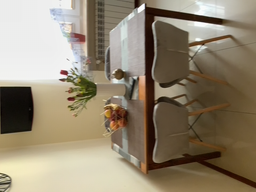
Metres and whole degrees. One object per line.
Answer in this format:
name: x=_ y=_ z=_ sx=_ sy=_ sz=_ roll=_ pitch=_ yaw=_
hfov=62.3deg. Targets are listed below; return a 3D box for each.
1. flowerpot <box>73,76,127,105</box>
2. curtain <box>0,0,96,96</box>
flowerpot: x=-0.240 y=-0.050 z=1.780 sx=0.240 sy=0.400 sz=0.210 roll=-162 pitch=73 yaw=-65
curtain: x=-1.330 y=-0.970 z=2.390 sx=0.190 sy=1.940 sz=1.920 roll=-173 pitch=83 yaw=-66
